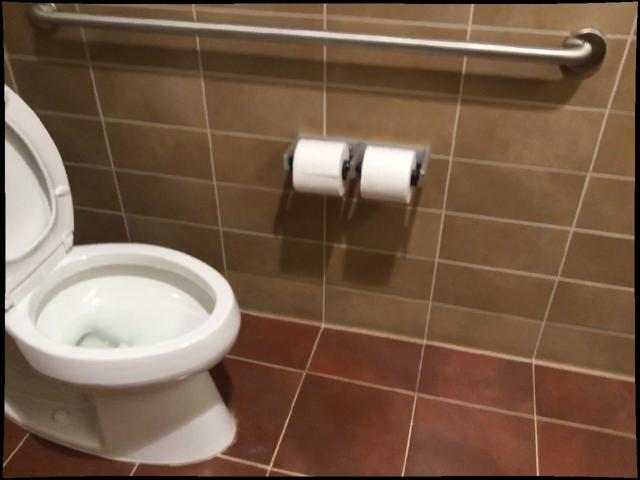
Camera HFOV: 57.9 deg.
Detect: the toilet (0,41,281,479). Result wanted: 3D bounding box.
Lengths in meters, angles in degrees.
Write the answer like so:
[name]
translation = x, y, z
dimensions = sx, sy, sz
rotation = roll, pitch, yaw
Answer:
[toilet]
translation = -0.549, 0.080, 1.250
dimensions = 0.779, 0.861, 0.420
rotation = 8, 38, 13
